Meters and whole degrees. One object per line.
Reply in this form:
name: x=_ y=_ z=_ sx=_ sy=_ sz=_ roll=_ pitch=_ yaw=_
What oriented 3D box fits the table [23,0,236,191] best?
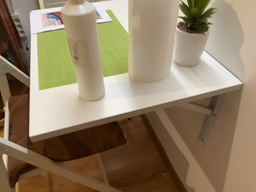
table: x=-0.080 y=0.070 z=0.960 sx=0.490 sy=0.750 sz=0.710 roll=-13 pitch=43 yaw=-14
